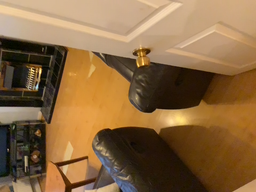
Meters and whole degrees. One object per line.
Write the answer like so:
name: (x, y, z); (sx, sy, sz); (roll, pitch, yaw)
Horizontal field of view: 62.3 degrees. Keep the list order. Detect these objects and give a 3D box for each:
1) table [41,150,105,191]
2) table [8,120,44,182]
table: (-0.670, 1.130, 2.460); (0.550, 0.480, 0.780); (16, 101, 50)
table: (-1.960, 0.990, 4.070); (0.620, 0.470, 1.040); (-6, 83, 50)
